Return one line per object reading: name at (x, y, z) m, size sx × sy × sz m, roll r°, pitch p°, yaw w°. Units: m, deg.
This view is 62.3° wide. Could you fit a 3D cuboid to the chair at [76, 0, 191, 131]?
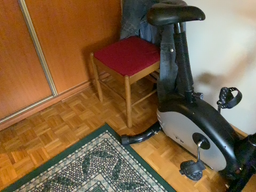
chair at (0.040, -0.280, 1.540) m, size 0.480 × 0.810 × 0.500 m, roll -31°, pitch 48°, yaw -28°
